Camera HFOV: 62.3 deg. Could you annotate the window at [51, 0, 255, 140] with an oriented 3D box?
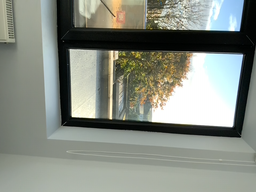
[{"bbox_3d":[0.210,-0.930,1.330,0.180,1.380,2.430,-69,162,-75],"label":"window"}]
